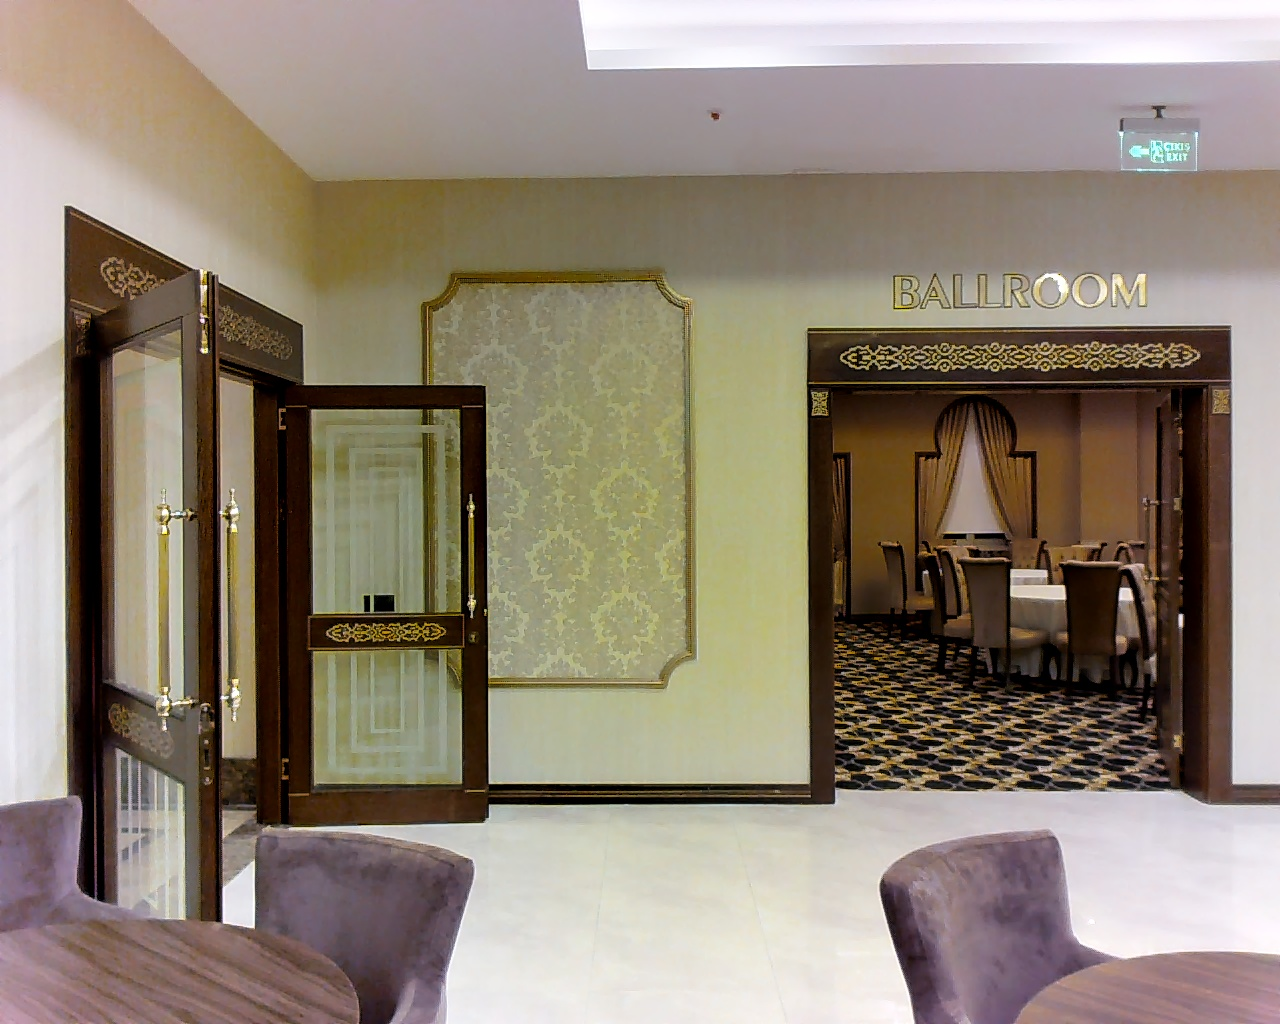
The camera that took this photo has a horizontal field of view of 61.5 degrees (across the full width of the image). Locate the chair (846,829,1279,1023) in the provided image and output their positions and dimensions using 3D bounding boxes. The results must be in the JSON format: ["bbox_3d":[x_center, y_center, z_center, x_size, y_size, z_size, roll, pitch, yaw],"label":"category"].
[{"bbox_3d":[0.820,1.120,1.890,0.580,0.860,0.690,0,0,-34],"label":"chair"}]

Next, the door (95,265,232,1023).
[{"bbox_3d":[-1.319,0.500,2.940,0.110,2.201,0.770,0,0,-42],"label":"door"}]

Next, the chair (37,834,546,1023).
[{"bbox_3d":[-0.590,1.141,1.920,0.650,0.900,0.570,0,0,22],"label":"chair"}]
